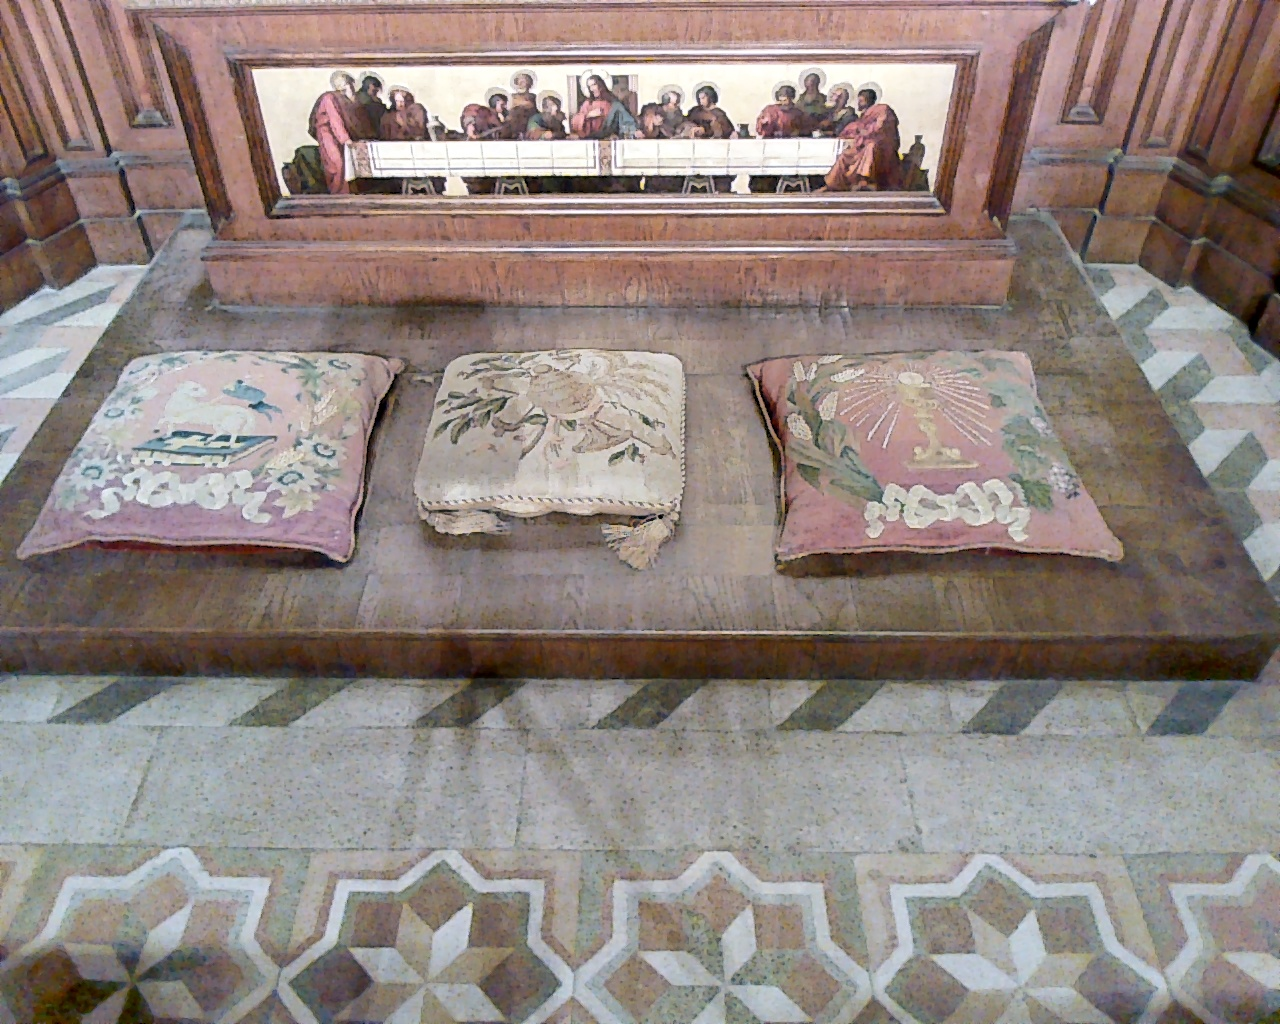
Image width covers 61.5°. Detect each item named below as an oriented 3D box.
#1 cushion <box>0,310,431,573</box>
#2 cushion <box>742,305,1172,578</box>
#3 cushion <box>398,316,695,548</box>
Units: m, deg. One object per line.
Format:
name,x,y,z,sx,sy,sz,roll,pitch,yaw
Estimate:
cushion,-0.770,-0.160,2.050,0.620,0.110,0.650,1,42,2
cushion,0.540,-0.160,2.030,0.660,0.120,0.660,1,42,2
cushion,-0.150,-0.170,2.050,0.500,0.130,0.540,1,42,2
